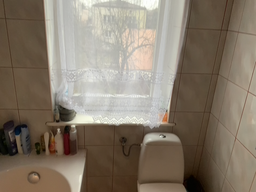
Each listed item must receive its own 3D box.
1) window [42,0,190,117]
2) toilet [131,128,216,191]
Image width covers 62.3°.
[{"bbox_3d":[-0.060,-0.640,1.310,0.880,1.650,0.150,1,22,-7],"label":"window"},{"bbox_3d":[0.240,0.720,1.510,0.360,0.740,0.640,3,22,-3],"label":"toilet"}]
